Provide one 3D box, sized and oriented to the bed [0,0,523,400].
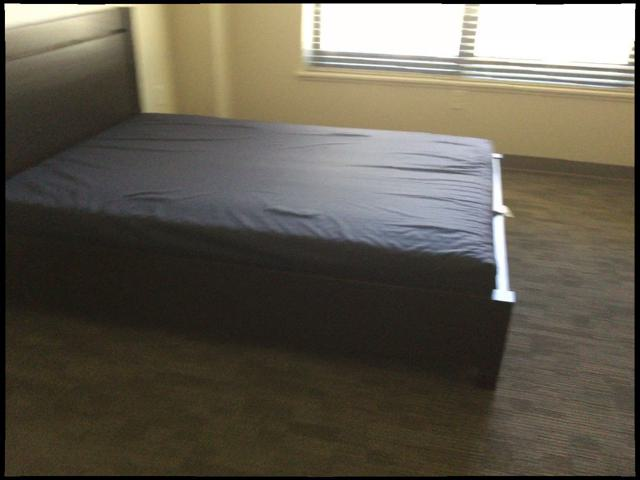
[{"bbox_3d":[-0.309,-0.411,2.610,2.156,1.042,1.530,8,30,14],"label":"bed"}]
